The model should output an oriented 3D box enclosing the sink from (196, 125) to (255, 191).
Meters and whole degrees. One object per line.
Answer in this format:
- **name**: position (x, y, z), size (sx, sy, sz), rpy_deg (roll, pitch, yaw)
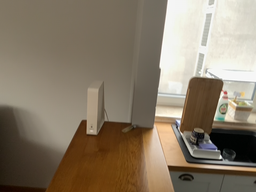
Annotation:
- **sink**: position (0.840, 0.460, 1.550), size (0.510, 0.240, 0.520), rpy_deg (5, 18, 1)
